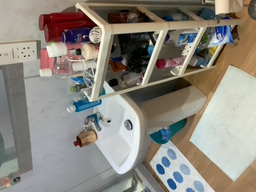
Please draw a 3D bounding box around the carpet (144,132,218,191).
[{"bbox_3d":[0.510,0.830,2.040,0.850,0.030,0.530,47,136,31],"label":"carpet"}]
